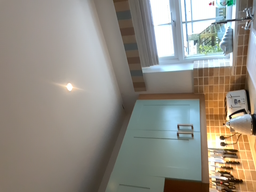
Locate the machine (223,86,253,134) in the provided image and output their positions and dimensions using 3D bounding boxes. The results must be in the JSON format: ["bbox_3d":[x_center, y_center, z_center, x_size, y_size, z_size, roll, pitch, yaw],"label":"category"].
[{"bbox_3d":[1.130,0.150,2.210,0.290,0.200,0.400,-69,-29,-49],"label":"machine"}]
